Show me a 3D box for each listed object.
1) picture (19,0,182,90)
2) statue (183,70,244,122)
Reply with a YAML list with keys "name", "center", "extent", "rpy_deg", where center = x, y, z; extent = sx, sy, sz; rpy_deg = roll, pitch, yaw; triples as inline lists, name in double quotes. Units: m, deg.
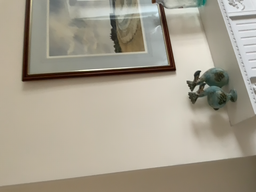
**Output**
- name: "picture"
  center: [-0.160, -0.470, 1.090]
  extent: [0.050, 0.700, 0.870]
  rpy_deg: [99, 164, -69]
- name: "statue"
  center: [0.350, 0.000, 0.890]
  extent: [0.080, 0.180, 0.190]
  rpy_deg: [100, 164, -69]
